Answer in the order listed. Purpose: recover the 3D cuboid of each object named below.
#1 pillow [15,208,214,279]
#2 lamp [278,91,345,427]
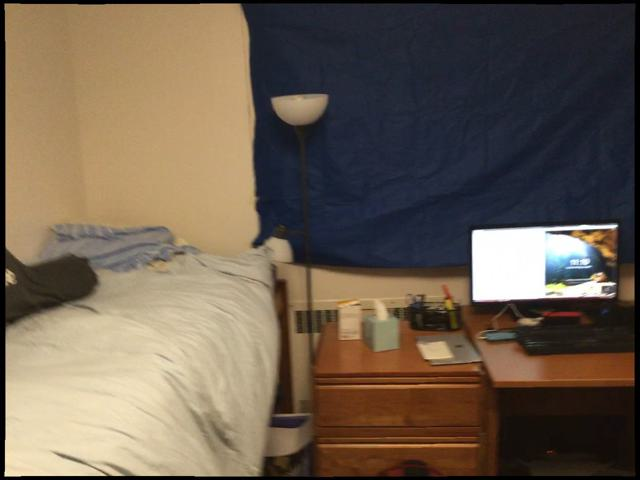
[{"bbox_3d":[-0.878,0.000,2.600,0.659,0.200,0.580,0,12,4],"label":"pillow"},{"bbox_3d":[-0.020,0.110,2.740,0.269,1.573,0.300,0,16,4],"label":"lamp"}]
